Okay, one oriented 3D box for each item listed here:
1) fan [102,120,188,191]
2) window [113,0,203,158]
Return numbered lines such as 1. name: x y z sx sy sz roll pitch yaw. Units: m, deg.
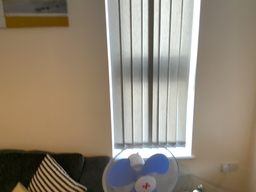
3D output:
1. fan: 0.080 0.710 1.370 0.420 1.010 0.350 -4 16 -11
2. window: 0.200 -0.300 1.530 0.580 1.610 0.130 -1 16 0
